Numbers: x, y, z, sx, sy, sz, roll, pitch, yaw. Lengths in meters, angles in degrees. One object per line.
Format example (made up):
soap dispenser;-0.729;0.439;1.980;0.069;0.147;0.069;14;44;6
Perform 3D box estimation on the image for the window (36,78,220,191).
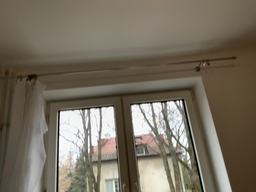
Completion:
window;0.000;0.750;1.850;1.490;1.780;0.220;-4;-21;-4
